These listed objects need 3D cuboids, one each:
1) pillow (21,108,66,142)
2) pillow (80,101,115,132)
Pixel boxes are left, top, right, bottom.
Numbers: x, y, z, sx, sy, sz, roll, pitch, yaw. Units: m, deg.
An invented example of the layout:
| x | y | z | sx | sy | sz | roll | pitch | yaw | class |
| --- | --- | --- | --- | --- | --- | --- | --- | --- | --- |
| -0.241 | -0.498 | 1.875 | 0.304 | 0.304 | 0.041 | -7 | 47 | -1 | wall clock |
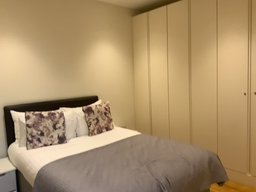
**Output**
| x | y | z | sx | sy | sz | roll | pitch | yaw | class |
| --- | --- | --- | --- | --- | --- | --- | --- | --- | --- |
| -0.940 | 0.330 | 2.390 | 0.410 | 0.350 | 0.130 | 10 | -5 | -41 | pillow |
| -0.400 | 0.280 | 2.860 | 0.430 | 0.390 | 0.120 | 9 | -4 | -43 | pillow |
